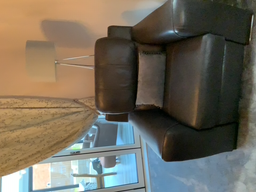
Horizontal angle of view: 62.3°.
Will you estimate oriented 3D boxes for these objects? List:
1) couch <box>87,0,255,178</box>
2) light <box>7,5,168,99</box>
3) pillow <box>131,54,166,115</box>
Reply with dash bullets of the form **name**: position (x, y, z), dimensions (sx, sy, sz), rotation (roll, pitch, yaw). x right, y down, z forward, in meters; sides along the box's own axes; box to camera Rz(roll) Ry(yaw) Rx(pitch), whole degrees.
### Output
- **couch**: position (0.220, -0.150, 1.810), dimensions (1.090, 0.940, 1.080), rotation (-155, 66, -68)
- **light**: position (-0.400, -0.400, 2.330), dimensions (0.490, 1.530, 0.770), rotation (148, 119, -67)
- **pillow**: position (0.170, -0.110, 1.850), dimensions (0.230, 0.190, 0.490), rotation (-148, 60, -67)
